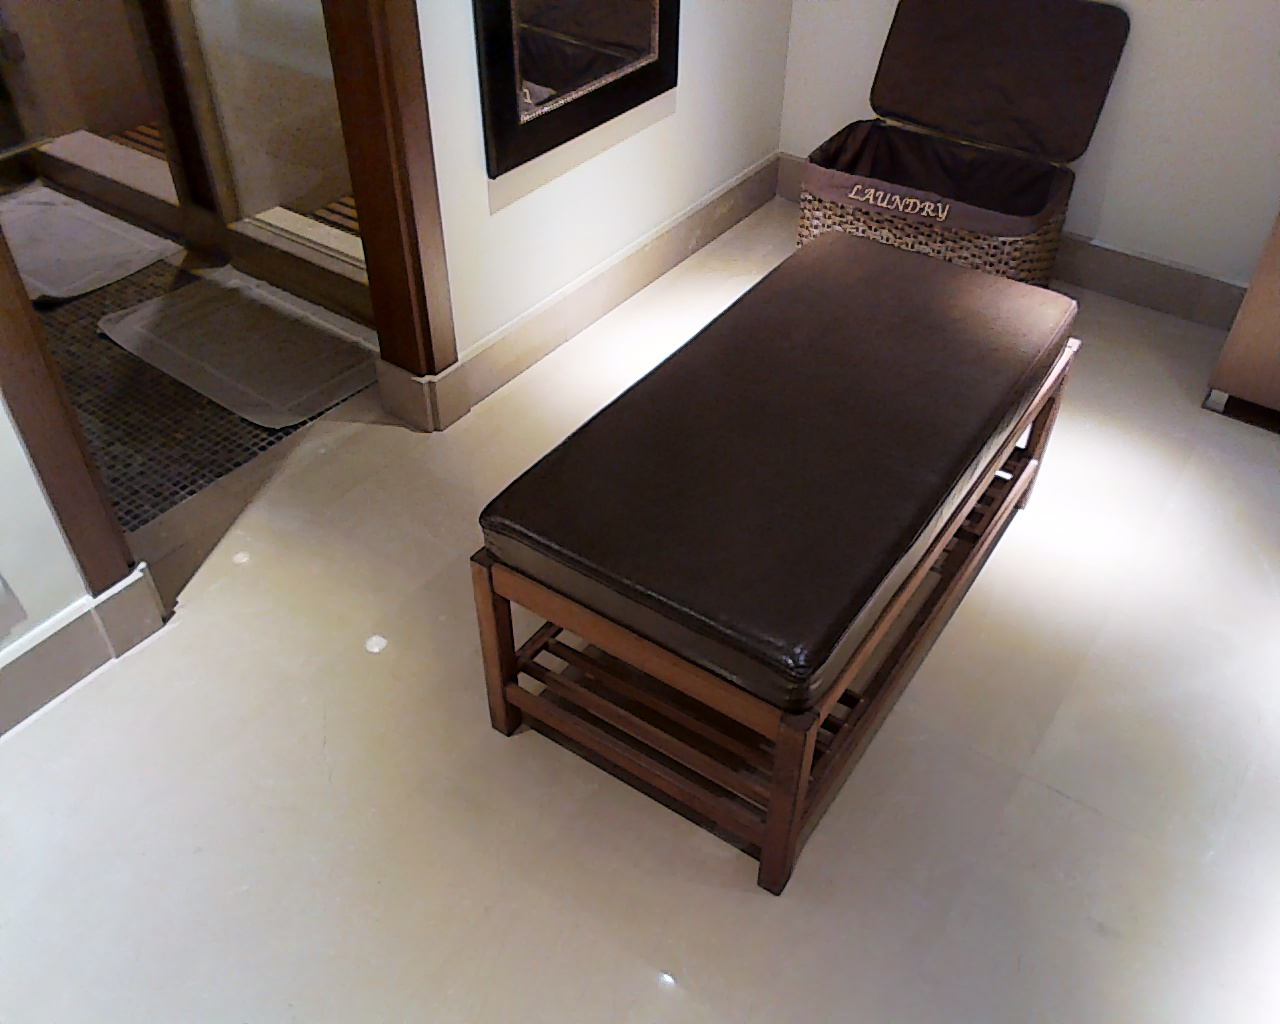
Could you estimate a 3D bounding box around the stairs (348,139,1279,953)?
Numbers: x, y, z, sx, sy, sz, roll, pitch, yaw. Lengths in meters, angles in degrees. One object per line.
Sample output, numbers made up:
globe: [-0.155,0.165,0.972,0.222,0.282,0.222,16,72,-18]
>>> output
stairs: [0.320,-0.070,2.040,1.340,0.650,0.940,26,48,25]
